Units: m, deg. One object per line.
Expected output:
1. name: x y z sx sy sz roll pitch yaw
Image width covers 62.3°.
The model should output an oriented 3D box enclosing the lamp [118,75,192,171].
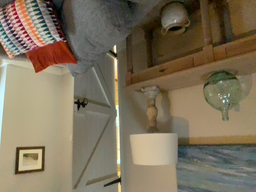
1. lamp: 0.250 0.260 1.990 0.410 0.750 0.510 -13 164 42

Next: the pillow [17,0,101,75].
1. pillow: -0.540 -0.450 1.660 0.570 0.470 0.170 -7 146 35
